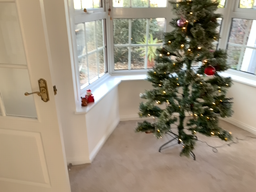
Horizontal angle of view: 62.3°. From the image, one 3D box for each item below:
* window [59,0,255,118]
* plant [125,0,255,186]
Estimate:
[{"bbox_3d":[0.560,-0.730,2.270,2.310,1.610,0.870,-2,25,-6],"label":"window"},{"bbox_3d":[0.560,-0.280,1.950,1.060,1.770,1.060,-2,25,-6],"label":"plant"}]
